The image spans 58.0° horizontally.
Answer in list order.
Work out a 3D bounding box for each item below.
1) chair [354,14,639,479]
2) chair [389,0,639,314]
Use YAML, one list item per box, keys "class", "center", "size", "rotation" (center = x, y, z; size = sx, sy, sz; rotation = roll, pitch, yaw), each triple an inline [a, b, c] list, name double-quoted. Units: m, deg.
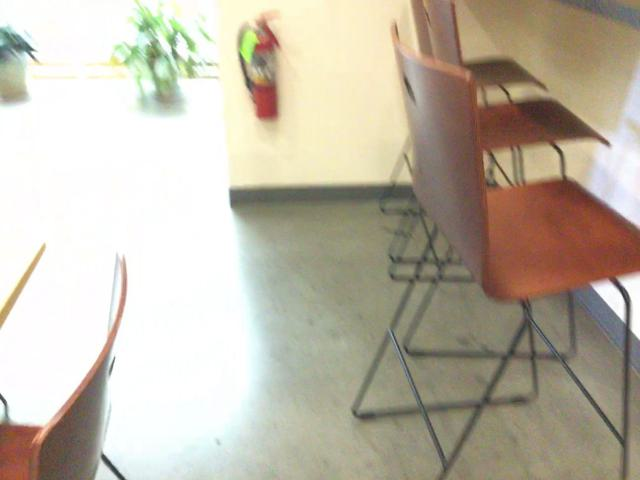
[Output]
- class: "chair"
  center: [0.390, 0.070, 1.230]
  size: [0.520, 0.990, 0.470]
  rotation: [0, 24, -5]
- class: "chair"
  center: [0.550, -0.290, 1.810]
  size: [0.530, 0.940, 0.440]
  rotation: [1, 24, -3]
